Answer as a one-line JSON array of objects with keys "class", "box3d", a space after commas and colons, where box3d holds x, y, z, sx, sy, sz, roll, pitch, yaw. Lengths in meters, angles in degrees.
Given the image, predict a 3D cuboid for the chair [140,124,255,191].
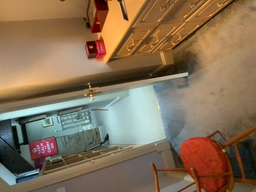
[{"class": "chair", "box3d": [0.540, 0.500, 1.520, 0.430, 0.710, 0.440, 160, 98, -68]}]
